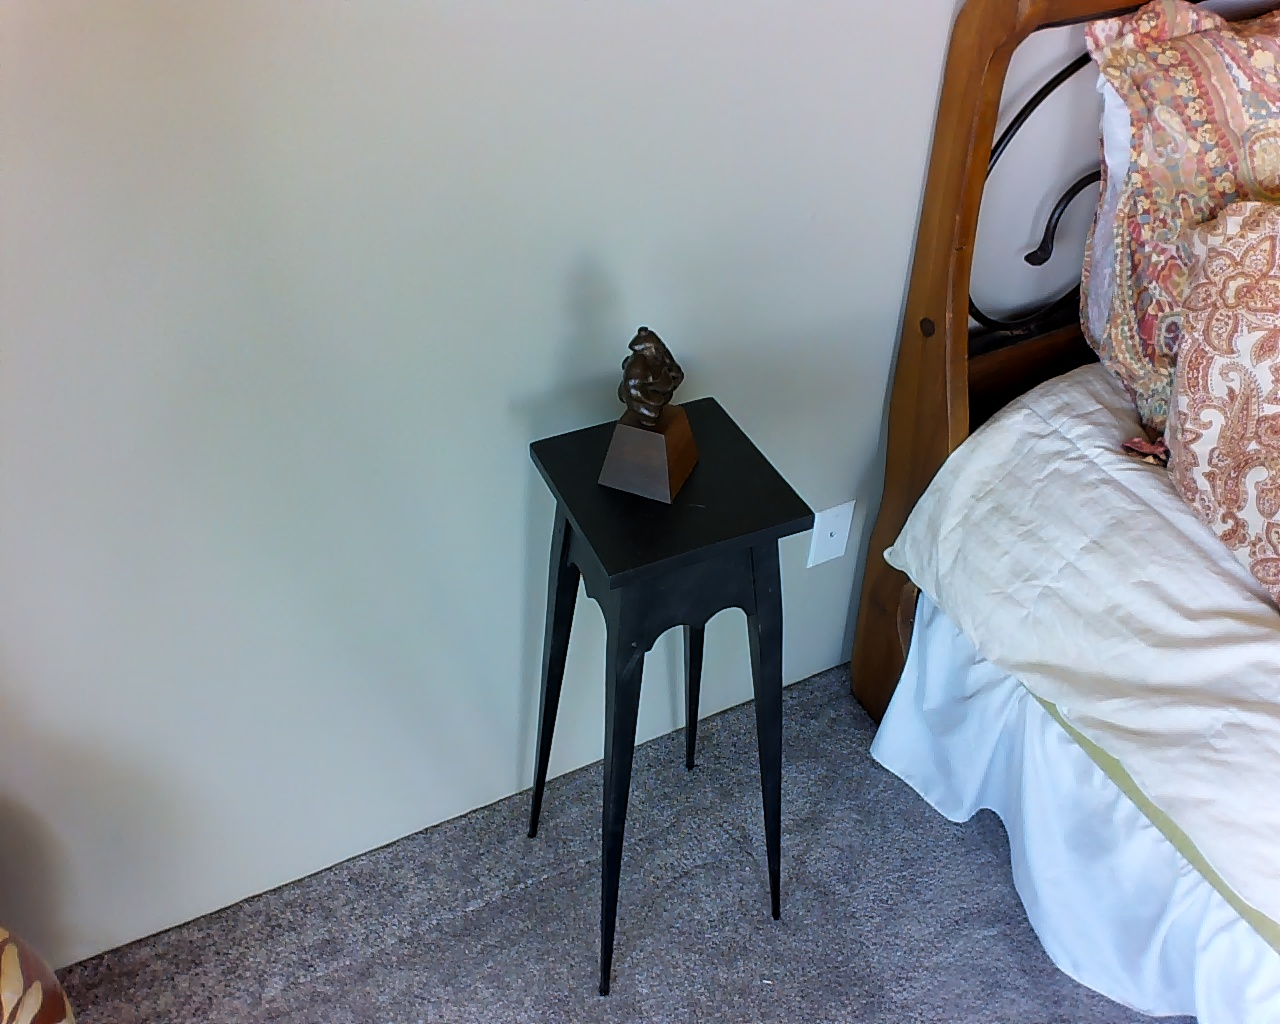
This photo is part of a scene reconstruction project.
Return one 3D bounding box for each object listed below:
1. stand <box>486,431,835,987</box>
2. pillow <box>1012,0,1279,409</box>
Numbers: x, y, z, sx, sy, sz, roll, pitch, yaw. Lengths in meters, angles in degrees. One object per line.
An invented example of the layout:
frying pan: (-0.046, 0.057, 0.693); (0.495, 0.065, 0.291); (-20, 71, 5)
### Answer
stand: (0.010, 0.270, 1.390); (0.270, 0.630, 0.320); (-18, 44, -20)
pillow: (0.850, -0.440, 1.320); (0.650, 0.390, 0.270); (-18, 44, -20)
